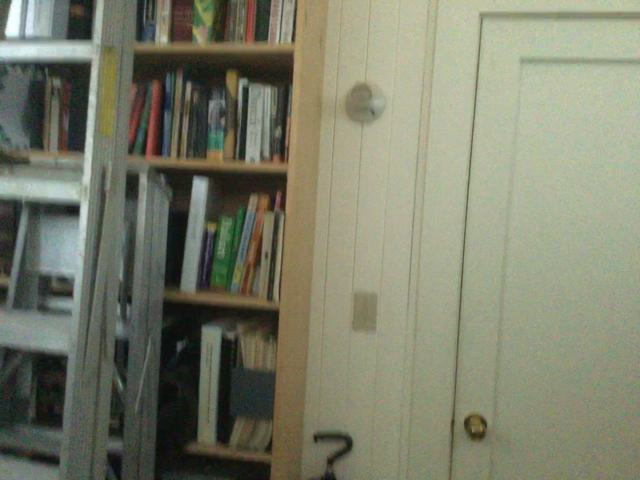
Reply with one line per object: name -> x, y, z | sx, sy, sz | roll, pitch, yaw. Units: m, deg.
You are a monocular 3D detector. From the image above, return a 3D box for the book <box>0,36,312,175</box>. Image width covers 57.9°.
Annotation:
book -> -0.470, -0.350, 1.550 | 0.840, 0.290, 0.310 | 4, 3, 10

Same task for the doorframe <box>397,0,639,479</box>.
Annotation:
doorframe -> 0.760, 0.340, 1.520 | 1.060, 2.130, 0.060 | 4, 3, 10

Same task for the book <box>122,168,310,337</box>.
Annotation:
book -> -0.260, 0.020, 1.530 | 0.400, 0.380, 0.280 | 4, 3, 10
